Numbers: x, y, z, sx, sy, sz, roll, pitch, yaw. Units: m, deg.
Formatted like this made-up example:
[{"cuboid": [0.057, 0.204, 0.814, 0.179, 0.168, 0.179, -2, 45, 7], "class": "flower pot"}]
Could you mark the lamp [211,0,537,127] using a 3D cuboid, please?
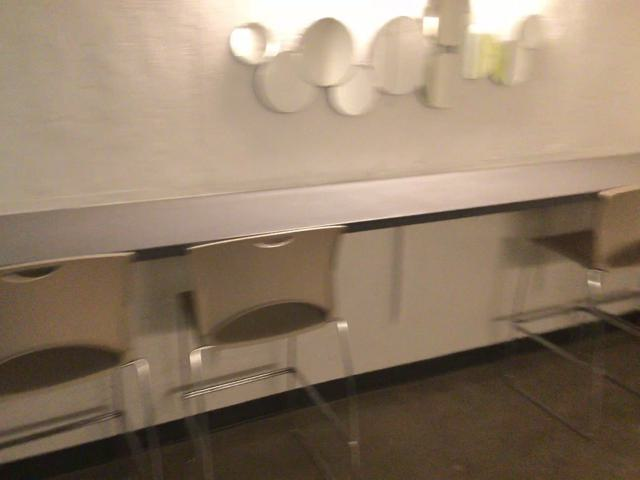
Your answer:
[{"cuboid": [0.260, -0.790, 2.210, 1.320, 0.620, 0.080, -8, 17, -19], "class": "lamp"}]
